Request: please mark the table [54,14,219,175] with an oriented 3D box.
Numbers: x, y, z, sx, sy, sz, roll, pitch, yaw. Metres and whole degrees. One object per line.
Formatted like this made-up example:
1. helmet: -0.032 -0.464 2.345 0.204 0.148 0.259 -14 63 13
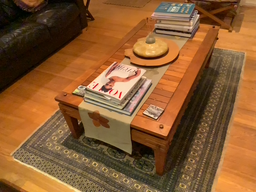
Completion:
1. table: 0.180 -0.170 1.670 0.720 0.400 1.280 16 46 22
